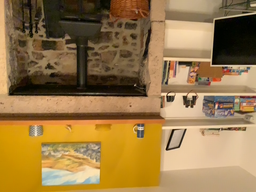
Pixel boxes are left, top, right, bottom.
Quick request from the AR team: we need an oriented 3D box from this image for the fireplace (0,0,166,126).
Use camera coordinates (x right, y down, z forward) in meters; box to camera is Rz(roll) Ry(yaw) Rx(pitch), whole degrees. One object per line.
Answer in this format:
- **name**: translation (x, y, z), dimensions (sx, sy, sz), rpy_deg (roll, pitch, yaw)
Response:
- **fireplace**: translation (-0.680, -0.600, 2.440), dimensions (2.020, 1.700, 0.790), rpy_deg (0, -172, -10)

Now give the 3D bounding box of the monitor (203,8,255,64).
- **monitor**: translation (1.200, -0.590, 2.120), dimensions (0.860, 0.530, 0.040), rpy_deg (10, -167, 42)
